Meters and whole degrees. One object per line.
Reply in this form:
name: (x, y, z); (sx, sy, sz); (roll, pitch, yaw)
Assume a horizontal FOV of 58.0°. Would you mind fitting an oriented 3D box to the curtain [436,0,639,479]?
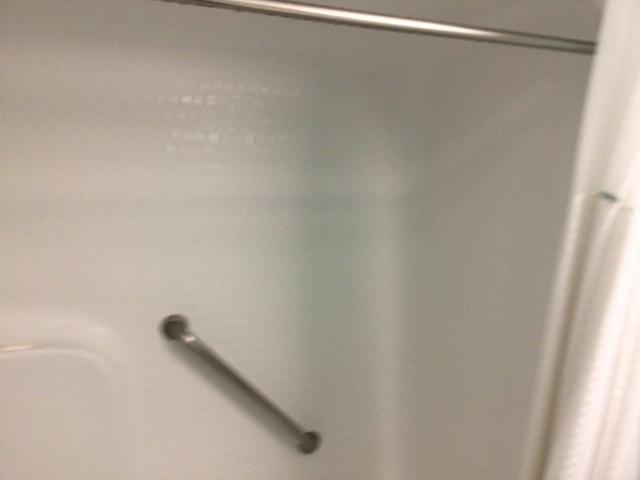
curtain: (0.470, 0.310, 1.120); (0.280, 1.520, 0.390); (-2, 8, -26)
